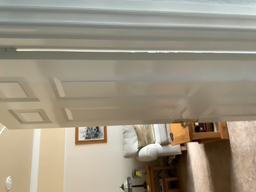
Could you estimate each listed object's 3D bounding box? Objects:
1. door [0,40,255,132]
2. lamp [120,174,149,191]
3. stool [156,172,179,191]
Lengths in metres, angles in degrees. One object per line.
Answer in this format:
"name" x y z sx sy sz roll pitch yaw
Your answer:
"door" 0.240 0.000 1.180 0.760 1.940 0.100 107 160 -63
"lamp" 0.110 1.600 3.870 0.280 0.470 0.280 123 145 -74
"stool" 0.680 1.510 3.720 0.300 0.290 0.290 115 152 -70
